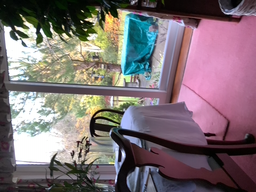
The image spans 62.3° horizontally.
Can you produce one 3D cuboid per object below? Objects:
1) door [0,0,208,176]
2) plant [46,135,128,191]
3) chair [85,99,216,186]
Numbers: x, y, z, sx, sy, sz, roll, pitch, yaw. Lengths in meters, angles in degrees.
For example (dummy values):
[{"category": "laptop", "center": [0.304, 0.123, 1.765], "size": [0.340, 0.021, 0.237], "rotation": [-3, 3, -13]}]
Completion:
[{"category": "door", "center": [-0.550, 0.030, 2.470], "size": [0.150, 2.500, 2.200], "rotation": [-108, 23, -65]}, {"category": "plant", "center": [-0.240, 0.490, 1.240], "size": [0.270, 0.400, 0.430], "rotation": [-114, 29, -70]}, {"category": "chair", "center": [0.140, 0.410, 1.960], "size": [0.560, 1.000, 0.520], "rotation": [-109, 25, -66]}]
